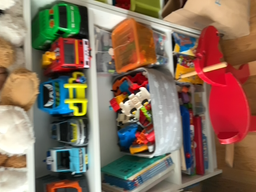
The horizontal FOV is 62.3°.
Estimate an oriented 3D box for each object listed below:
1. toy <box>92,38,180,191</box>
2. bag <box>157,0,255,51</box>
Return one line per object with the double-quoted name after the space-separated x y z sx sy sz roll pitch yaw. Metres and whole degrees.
0.030 0.090 1.070 0.300 0.280 0.640 -8 84 52 "toy"
0.450 -0.510 1.110 0.310 0.530 0.410 -8 84 52 "bag"
